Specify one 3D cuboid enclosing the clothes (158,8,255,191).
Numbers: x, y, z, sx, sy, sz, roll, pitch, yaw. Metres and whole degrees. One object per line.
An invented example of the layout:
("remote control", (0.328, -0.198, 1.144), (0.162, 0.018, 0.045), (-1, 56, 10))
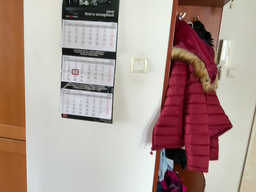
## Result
("clothes", (0.420, 0.100, 1.410), (0.320, 1.090, 0.920), (6, 12, 8))
